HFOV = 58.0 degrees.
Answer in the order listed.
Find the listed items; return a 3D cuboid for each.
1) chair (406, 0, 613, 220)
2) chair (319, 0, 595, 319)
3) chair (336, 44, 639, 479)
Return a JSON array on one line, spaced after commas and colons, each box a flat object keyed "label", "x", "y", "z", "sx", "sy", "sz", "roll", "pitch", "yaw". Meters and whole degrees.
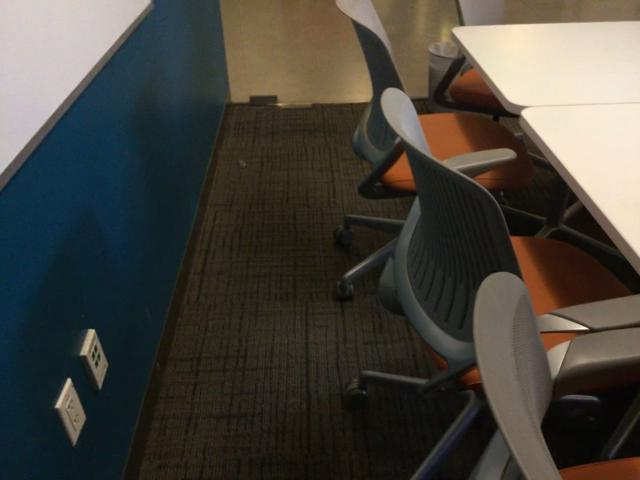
[{"label": "chair", "x": 0.750, "y": -0.670, "z": 2.380, "sx": 0.640, "sy": 0.910, "sz": 0.610, "roll": 9, "pitch": 37, "yaw": 17}, {"label": "chair", "x": 0.350, "y": -0.280, "z": 1.850, "sx": 0.650, "sy": 0.920, "sz": 0.520, "roll": -3, "pitch": 35, "yaw": 2}, {"label": "chair", "x": 0.450, "y": 0.130, "z": 1.280, "sx": 0.770, "sy": 0.900, "sz": 0.610, "roll": -3, "pitch": 35, "yaw": 2}]
